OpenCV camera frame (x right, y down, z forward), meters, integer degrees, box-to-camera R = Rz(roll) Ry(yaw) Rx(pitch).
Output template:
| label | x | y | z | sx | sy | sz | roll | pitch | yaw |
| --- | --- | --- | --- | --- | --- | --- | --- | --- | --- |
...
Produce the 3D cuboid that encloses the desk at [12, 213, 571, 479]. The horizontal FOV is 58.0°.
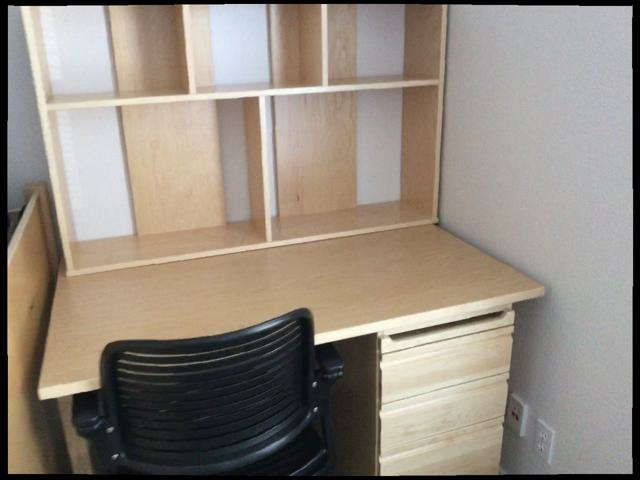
| label | x | y | z | sx | sy | sz | roll | pitch | yaw |
| --- | --- | --- | --- | --- | --- | --- | --- | --- | --- |
| desk | -0.070 | 0.471 | 1.720 | 1.298 | 0.821 | 0.640 | -7 | 22 | -17 |
